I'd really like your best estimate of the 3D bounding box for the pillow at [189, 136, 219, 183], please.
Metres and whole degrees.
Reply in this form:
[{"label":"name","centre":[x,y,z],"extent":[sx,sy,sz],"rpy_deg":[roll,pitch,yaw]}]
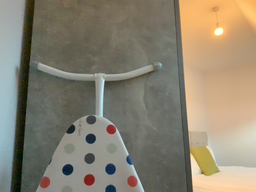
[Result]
[{"label":"pillow","centre":[1.340,1.080,3.690],"extent":[0.160,0.510,0.670],"rpy_deg":[-24,2,35]}]
